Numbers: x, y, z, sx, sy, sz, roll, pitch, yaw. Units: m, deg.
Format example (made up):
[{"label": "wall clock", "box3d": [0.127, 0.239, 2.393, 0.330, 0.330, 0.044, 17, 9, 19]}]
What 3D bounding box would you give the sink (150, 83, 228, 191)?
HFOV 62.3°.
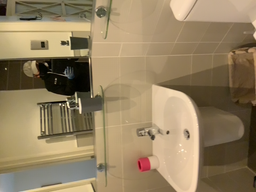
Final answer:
[{"label": "sink", "box3d": [0.300, 0.230, 1.190, 0.450, 0.180, 0.550, -151, 58, -68]}]
